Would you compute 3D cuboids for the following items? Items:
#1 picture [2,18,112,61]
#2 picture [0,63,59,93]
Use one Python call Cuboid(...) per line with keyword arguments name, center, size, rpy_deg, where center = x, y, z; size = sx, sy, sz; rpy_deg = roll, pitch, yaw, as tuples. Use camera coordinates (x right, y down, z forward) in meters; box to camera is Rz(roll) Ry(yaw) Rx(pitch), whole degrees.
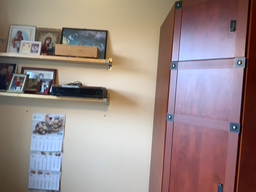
Cuboid(name="picture", center=(-0.640, -0.520, 2.000), size=(0.960, 0.280, 0.170), rpy_deg=(5, 1, -3))
Cuboid(name="picture", center=(-0.970, -0.170, 2.020), size=(0.560, 0.230, 0.160), rpy_deg=(5, 1, 0))
